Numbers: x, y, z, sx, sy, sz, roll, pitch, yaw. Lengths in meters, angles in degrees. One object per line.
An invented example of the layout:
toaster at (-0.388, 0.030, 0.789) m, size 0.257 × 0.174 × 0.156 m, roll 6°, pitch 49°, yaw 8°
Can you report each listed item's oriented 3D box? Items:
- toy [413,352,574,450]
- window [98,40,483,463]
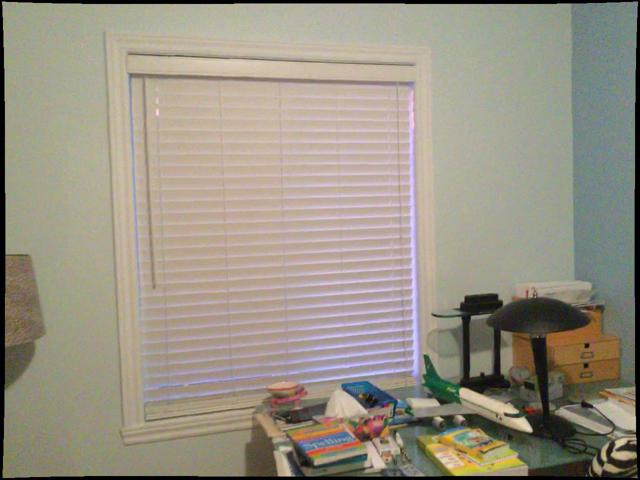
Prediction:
toy at (0.579, 0.541, 2.040) m, size 0.260 × 0.110 × 0.590 m, roll -4°, pitch 6°, yaw -17°
window at (-0.050, 0.010, 2.220) m, size 1.399 × 1.411 × 0.210 m, roll -4°, pitch 6°, yaw -17°
